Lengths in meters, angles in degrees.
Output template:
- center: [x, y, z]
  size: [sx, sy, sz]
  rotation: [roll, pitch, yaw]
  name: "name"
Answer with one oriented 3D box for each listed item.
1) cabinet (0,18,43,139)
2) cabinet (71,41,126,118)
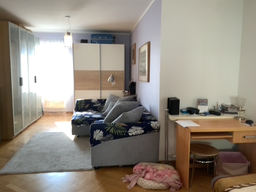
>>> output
- center: [-2.770, -0.450, 5.260]
  size: [0.630, 2.380, 2.220]
  rotation: [0, 7, -7]
  name: "cabinet"
- center: [-0.880, -0.490, 6.480]
  size: [1.530, 2.200, 0.610]
  rotation: [0, 7, -7]
  name: "cabinet"
